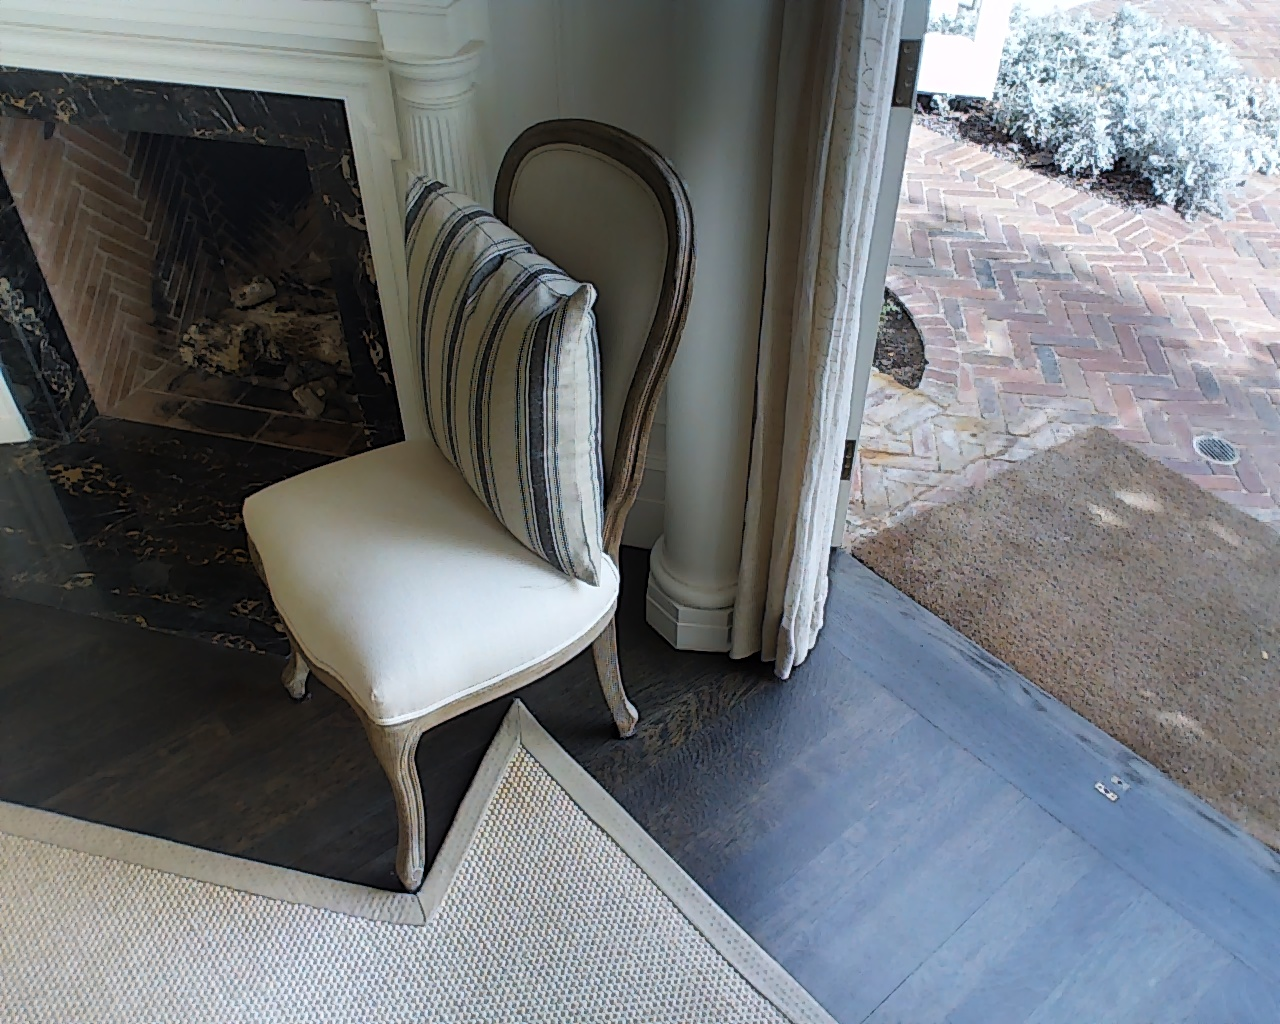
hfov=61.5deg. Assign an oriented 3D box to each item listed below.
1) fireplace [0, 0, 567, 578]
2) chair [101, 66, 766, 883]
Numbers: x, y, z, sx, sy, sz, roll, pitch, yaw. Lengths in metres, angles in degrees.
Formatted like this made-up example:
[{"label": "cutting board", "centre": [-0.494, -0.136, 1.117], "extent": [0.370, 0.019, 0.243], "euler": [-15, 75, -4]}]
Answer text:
[{"label": "fireplace", "centre": [-1.020, -0.580, 2.030], "extent": [1.710, 1.350, 0.230], "euler": [10, 43, 11]}, {"label": "chair", "centre": [-0.270, -0.050, 1.680], "extent": [0.660, 0.980, 0.540], "euler": [-24, 47, -25]}]
